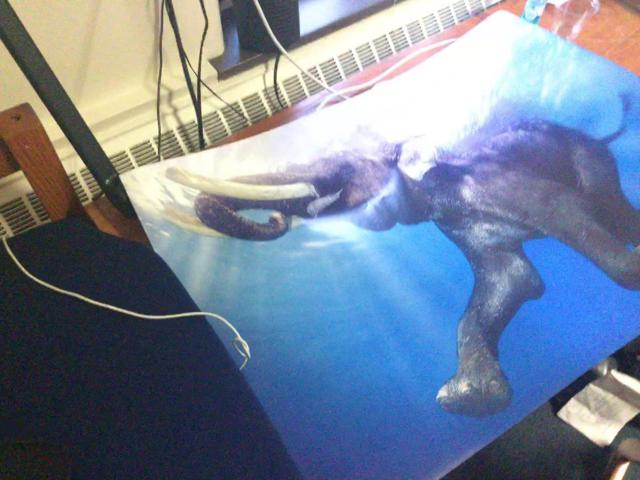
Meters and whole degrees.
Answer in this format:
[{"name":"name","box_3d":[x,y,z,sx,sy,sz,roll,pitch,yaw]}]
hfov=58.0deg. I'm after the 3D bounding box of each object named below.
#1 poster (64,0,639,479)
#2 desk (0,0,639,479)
[{"name":"poster","box_3d":[0.210,-0.040,0.930,0.960,0.200,0.660,-32,59,-20]},{"name":"desk","box_3d":[0.160,0.050,1.270,1.180,0.830,0.850,-32,59,-20]}]
